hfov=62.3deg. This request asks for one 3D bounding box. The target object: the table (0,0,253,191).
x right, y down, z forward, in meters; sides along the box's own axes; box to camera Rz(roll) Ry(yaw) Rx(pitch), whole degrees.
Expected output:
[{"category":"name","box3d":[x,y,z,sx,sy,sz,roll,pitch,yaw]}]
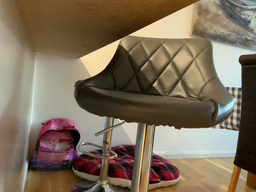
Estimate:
[{"category":"table","box3d":[-0.610,0.170,0.860,1.020,0.910,1.530,5,4,-22]}]
